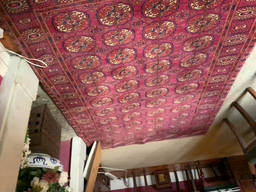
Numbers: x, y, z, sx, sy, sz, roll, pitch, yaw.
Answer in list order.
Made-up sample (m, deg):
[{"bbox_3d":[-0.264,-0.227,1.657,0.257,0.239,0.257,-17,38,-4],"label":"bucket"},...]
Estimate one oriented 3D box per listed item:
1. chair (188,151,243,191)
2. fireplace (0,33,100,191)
[{"bbox_3d":[1.330,1.400,3.220,0.500,0.900,0.590,-8,146,0],"label":"chair"},{"bbox_3d":[-0.600,0.610,1.380,0.590,1.140,1.520,-7,147,-1],"label":"fireplace"}]
